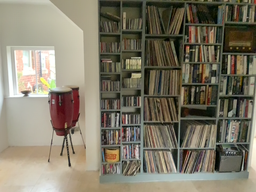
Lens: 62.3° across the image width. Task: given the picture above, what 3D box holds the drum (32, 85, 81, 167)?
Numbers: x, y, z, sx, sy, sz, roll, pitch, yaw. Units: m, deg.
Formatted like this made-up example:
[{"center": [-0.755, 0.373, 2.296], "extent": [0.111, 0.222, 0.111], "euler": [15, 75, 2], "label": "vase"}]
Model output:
[{"center": [-1.130, 0.430, 3.550], "extent": [0.500, 1.140, 0.890], "euler": [0, 9, -2], "label": "drum"}]
